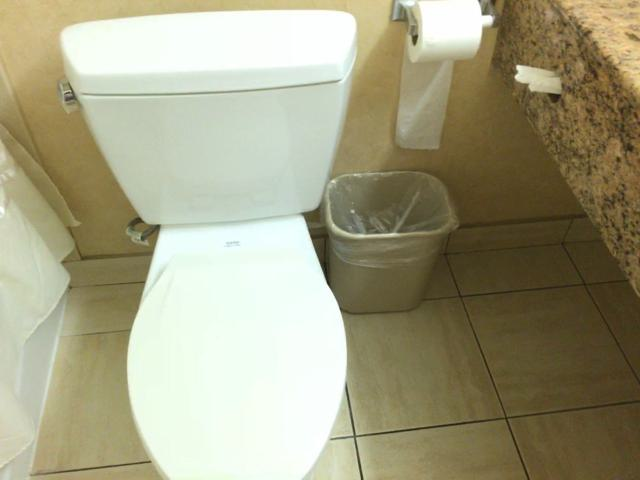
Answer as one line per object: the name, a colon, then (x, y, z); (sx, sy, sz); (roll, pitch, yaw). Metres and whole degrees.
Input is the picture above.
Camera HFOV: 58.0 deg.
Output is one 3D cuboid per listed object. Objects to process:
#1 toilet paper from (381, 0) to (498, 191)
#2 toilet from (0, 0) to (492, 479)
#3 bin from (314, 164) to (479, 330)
toilet paper: (0.220, -0.290, 1.150); (0.140, 0.390, 0.120); (-5, 47, -6)
toilet: (-0.150, 0.100, 1.030); (0.510, 0.730, 0.740); (-5, 47, -6)
bin: (0.160, 0.020, 1.390); (0.320, 0.310, 0.220); (-5, 47, -6)
